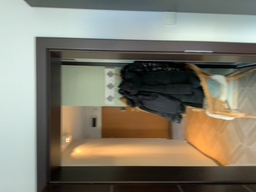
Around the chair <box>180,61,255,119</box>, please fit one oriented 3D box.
[{"bbox_3d":[1.100,-0.070,2.590,0.620,0.730,0.610,-149,60,-85],"label":"chair"}]
